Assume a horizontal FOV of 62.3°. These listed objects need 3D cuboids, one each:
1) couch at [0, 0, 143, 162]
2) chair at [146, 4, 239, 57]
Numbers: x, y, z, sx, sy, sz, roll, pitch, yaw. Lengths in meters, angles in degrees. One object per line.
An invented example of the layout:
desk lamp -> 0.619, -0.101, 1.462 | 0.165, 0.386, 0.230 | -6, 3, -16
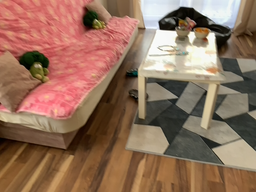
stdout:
couch -> -0.530, -0.560, 2.070 | 0.970, 0.890, 2.070 | 7, 35, 12
chair -> 0.900, -1.000, 3.070 | 0.910, 0.380, 0.880 | -26, 41, -31
